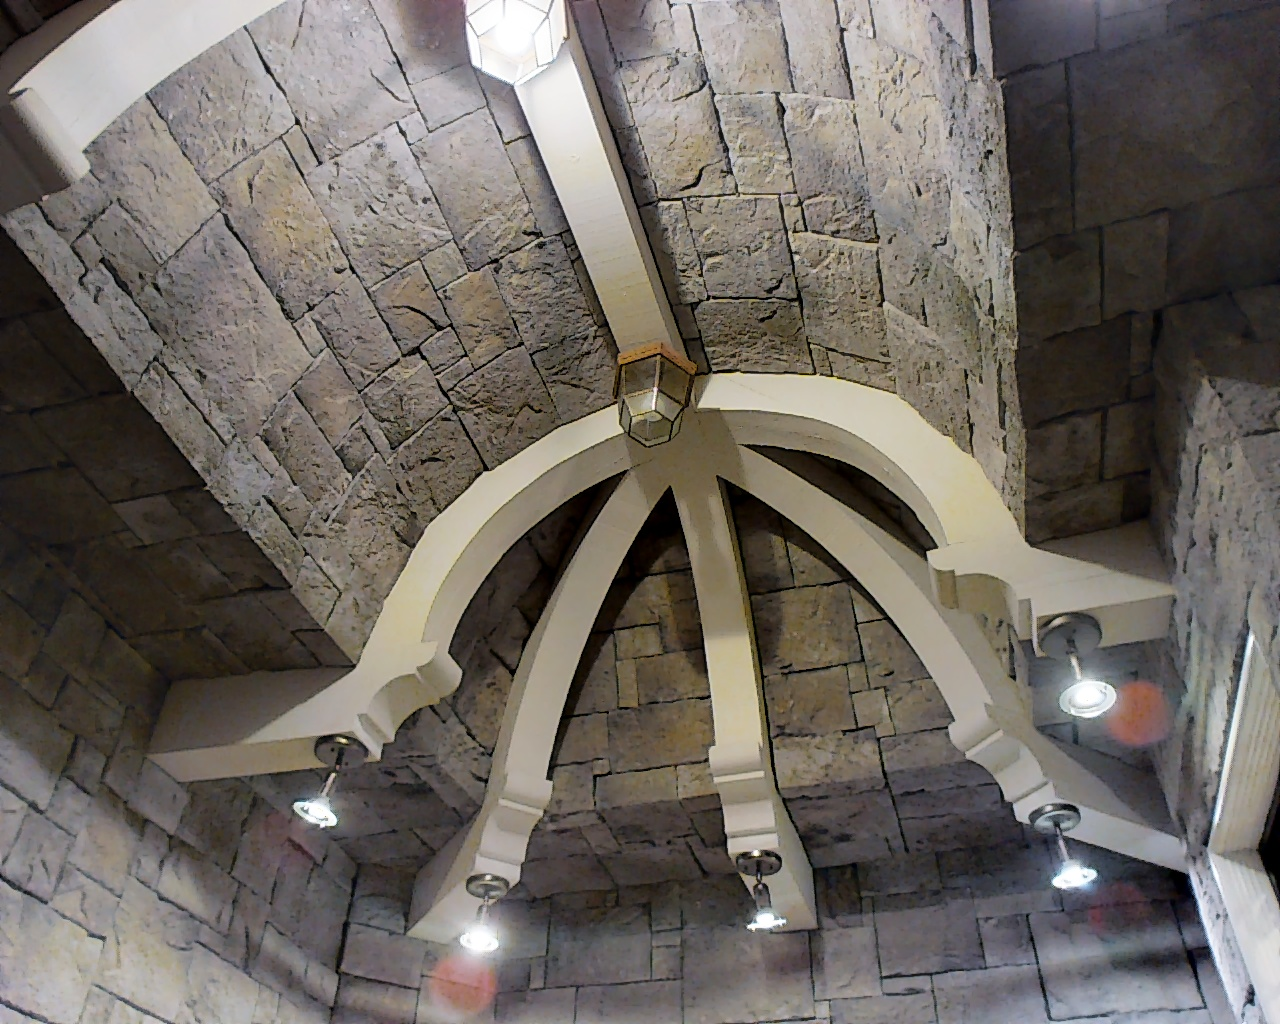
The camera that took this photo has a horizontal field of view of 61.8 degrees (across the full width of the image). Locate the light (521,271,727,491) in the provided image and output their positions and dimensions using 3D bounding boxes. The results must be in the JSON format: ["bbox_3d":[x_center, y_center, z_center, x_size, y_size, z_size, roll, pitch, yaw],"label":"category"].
[{"bbox_3d":[-0.030,-0.340,2.820,0.430,0.350,0.340,-12,-45,15],"label":"light"}]
